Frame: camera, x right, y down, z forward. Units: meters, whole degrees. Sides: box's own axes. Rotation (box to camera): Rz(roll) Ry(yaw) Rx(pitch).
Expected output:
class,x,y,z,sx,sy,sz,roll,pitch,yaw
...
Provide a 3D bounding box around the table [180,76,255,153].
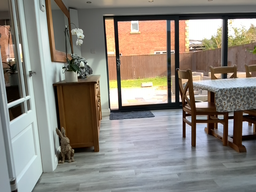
class,x,y,z,sx,sy,sz,roll,pitch,yaw
table,1.780,0.150,2.920,1.870,0.770,0.910,-3,9,-7

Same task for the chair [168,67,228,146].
class,x,y,z,sx,sy,sz,roll,pitch,yaw
chair,0.900,0.110,2.830,0.610,0.950,0.470,-3,9,-5
